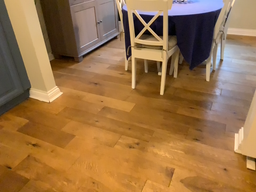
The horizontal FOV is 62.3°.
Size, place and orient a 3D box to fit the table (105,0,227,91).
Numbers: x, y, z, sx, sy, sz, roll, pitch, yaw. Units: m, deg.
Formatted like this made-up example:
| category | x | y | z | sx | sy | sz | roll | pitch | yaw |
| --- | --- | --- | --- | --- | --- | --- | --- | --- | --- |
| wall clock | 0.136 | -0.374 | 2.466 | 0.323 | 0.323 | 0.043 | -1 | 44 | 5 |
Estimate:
| category | x | y | z | sx | sy | sz | roll | pitch | yaw |
| --- | --- | --- | --- | --- | --- | --- | --- | --- | --- |
| table | 0.590 | -0.850 | 2.730 | 1.100 | 0.740 | 1.530 | 11 | 35 | 21 |

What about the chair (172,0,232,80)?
| category | x | y | z | sx | sy | sz | roll | pitch | yaw |
| --- | --- | --- | --- | --- | --- | --- | --- | --- | --- |
| chair | 0.810 | -0.700 | 2.350 | 0.450 | 0.890 | 0.400 | 16 | 36 | 27 |

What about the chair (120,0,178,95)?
| category | x | y | z | sx | sy | sz | roll | pitch | yaw |
| --- | --- | --- | --- | --- | --- | --- | --- | --- | --- |
| chair | 0.220 | -0.540 | 2.130 | 0.400 | 0.900 | 0.450 | 11 | 35 | 21 |
